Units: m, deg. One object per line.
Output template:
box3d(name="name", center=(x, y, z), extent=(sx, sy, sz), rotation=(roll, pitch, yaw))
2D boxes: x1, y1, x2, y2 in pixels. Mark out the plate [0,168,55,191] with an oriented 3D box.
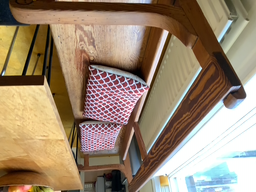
box3d(name="plate", center=(-0.590, 0.530, 1.150), extent=(0.310, 0.180, 0.340), rotation=(-1, 149, -9))
